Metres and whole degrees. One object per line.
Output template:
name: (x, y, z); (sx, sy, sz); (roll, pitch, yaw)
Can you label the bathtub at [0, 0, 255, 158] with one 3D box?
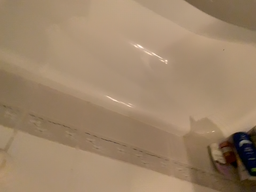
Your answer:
bathtub: (0.050, -0.370, 0.930); (1.700, 0.560, 0.700); (22, 129, -18)
